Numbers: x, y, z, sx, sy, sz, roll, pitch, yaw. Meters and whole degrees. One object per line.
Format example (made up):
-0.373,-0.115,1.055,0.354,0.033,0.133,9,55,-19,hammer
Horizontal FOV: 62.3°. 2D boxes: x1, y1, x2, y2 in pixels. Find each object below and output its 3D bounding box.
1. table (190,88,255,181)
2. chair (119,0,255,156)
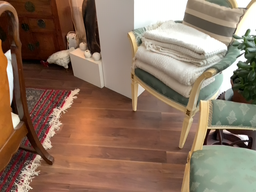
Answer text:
0.570,0.240,1.260,0.260,0.500,0.270,2,40,2,table
0.380,-0.250,1.470,0.600,0.990,0.640,-28,47,-29,chair
